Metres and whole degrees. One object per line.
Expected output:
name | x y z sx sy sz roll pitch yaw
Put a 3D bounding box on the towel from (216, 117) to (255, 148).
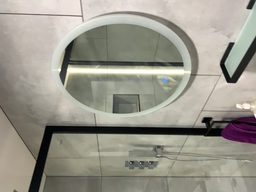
towel | 0.800 0.220 1.260 0.170 0.470 0.110 95 175 -50
